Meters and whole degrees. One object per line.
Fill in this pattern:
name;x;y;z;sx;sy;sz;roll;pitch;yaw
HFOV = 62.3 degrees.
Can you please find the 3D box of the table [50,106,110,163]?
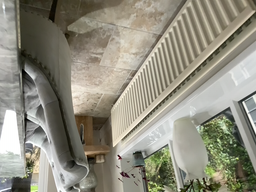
table;-0.640;0.520;2.720;0.610;0.510;0.630;5;149;-23
